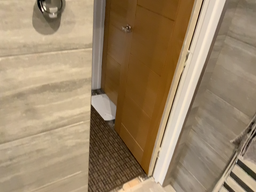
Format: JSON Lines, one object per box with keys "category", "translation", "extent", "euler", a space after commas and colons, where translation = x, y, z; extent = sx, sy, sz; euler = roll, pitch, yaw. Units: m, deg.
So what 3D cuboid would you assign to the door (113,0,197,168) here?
{"category": "door", "translation": [0.130, -0.370, 1.350], "extent": [0.020, 1.880, 0.600], "euler": [-12, 39, -28]}
